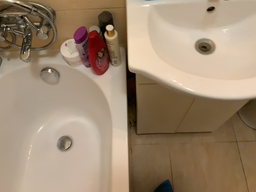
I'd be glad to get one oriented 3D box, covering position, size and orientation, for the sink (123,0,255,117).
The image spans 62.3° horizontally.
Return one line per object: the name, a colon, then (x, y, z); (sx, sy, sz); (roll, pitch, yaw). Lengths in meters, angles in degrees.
sink: (0.250, -0.150, 0.620); (0.520, 0.140, 0.390); (-1, 64, 1)
